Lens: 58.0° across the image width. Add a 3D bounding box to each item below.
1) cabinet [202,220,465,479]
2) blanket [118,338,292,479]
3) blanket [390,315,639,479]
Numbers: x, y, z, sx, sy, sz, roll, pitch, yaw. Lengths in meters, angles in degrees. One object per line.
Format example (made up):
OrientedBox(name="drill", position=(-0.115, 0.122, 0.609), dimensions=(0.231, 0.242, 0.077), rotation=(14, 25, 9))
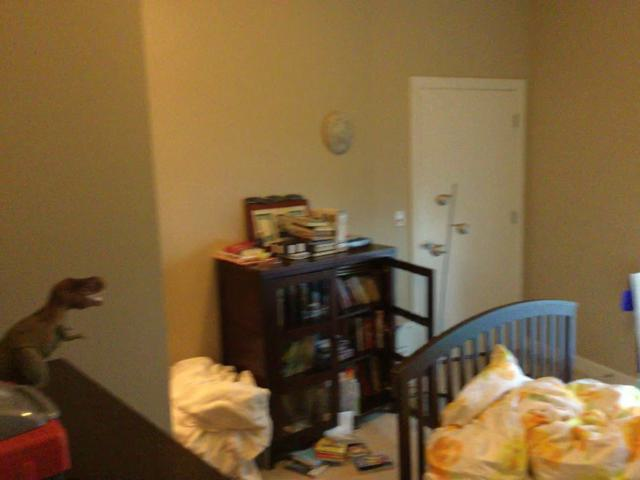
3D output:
OrientedBox(name="cabinet", position=(0.090, 0.520, 3.050), dimensions=(1.020, 1.100, 0.850), rotation=(-11, 11, -39))
OrientedBox(name="blanket", position=(-0.550, 0.840, 2.760), dimensions=(0.570, 0.500, 0.570), rotation=(-11, 11, -39))
OrientedBox(name="blanket", position=(1.060, 0.680, 2.040), dimensions=(1.090, 0.400, 1.170), rotation=(-11, 11, -39))
